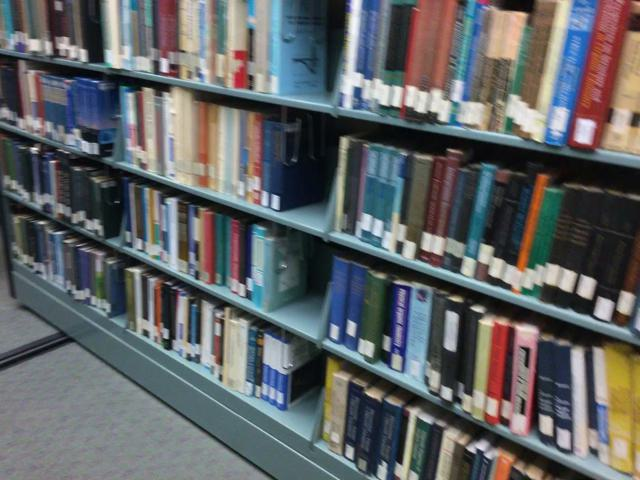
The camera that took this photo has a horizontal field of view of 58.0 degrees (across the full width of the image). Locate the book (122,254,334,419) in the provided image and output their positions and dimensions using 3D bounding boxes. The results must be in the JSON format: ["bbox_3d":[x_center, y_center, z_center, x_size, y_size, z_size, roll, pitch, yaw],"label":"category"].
[{"bbox_3d":[-0.340,0.290,1.970,0.770,0.270,0.230,16,21,34],"label":"book"}]

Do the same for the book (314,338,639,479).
[{"bbox_3d":[0.360,0.520,1.410,0.770,0.260,0.230,17,21,37],"label":"book"}]

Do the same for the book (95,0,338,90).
[{"bbox_3d":[-0.320,-0.580,1.650,0.730,0.240,0.230,15,20,34],"label":"book"}]

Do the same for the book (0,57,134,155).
[{"bbox_3d":[-1.040,-0.530,2.190,0.850,0.280,0.170,16,21,35],"label":"book"}]

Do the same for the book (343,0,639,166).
[{"bbox_3d":[0.440,-0.300,1.020,0.790,0.270,0.240,16,21,35],"label":"book"}]

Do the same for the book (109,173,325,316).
[{"bbox_3d":[-0.350,-0.020,1.840,0.720,0.250,0.250,16,21,36],"label":"book"}]

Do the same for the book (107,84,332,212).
[{"bbox_3d":[-0.320,-0.300,1.720,0.690,0.270,0.230,15,20,34],"label":"book"}]

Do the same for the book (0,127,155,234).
[{"bbox_3d":[-1.020,-0.260,2.280,0.840,0.260,0.240,15,20,34],"label":"book"}]
